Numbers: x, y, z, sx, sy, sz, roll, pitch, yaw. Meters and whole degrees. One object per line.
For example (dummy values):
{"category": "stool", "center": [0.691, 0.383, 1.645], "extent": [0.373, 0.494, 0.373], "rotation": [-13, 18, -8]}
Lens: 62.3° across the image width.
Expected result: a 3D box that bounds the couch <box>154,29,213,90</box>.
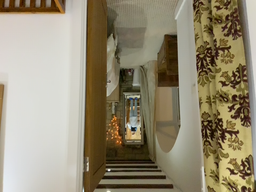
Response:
{"category": "couch", "center": [0.930, -0.590, 3.880], "extent": [0.730, 0.780, 1.200], "rotation": [-1, 173, 0]}
